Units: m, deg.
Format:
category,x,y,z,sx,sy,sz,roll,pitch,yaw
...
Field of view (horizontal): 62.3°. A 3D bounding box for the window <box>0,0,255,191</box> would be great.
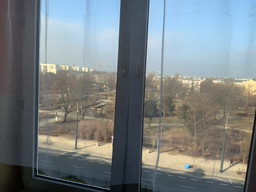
category,x,y,z,sx,sy,sz,roll,pitch,yaw
window,-0.020,-0.120,0.880,1.650,1.870,0.150,5,6,15
